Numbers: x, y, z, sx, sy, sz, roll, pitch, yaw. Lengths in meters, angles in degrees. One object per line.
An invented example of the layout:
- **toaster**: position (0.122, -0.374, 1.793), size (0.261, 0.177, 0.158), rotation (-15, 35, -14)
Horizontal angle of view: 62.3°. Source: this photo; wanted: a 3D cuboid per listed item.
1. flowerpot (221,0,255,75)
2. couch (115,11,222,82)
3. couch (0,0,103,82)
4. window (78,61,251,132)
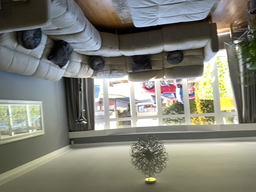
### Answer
- **flowerpot**: position (2.010, -1.010, 3.340), size (0.750, 1.220, 0.740), rotation (-4, 177, 11)
- **couch**: position (0.770, -0.910, 4.350), size (1.830, 1.010, 1.040), rotation (-4, 177, 8)
- **couch**: position (-1.150, -0.840, 2.960), size (1.070, 1.020, 1.870), rotation (-4, 177, 8)
- **window**: position (0.780, 0.060, 5.230), size (3.940, 1.390, 0.450), rotation (-4, 177, 8)
